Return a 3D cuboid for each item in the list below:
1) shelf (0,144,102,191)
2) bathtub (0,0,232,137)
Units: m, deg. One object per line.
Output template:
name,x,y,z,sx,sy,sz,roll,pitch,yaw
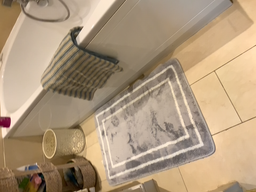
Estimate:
shelf,-0.640,0.590,1.480,0.310,0.830,0.340,-37,62,35
bathtub,-0.340,-0.400,1.480,1.660,0.590,0.750,-37,62,35
